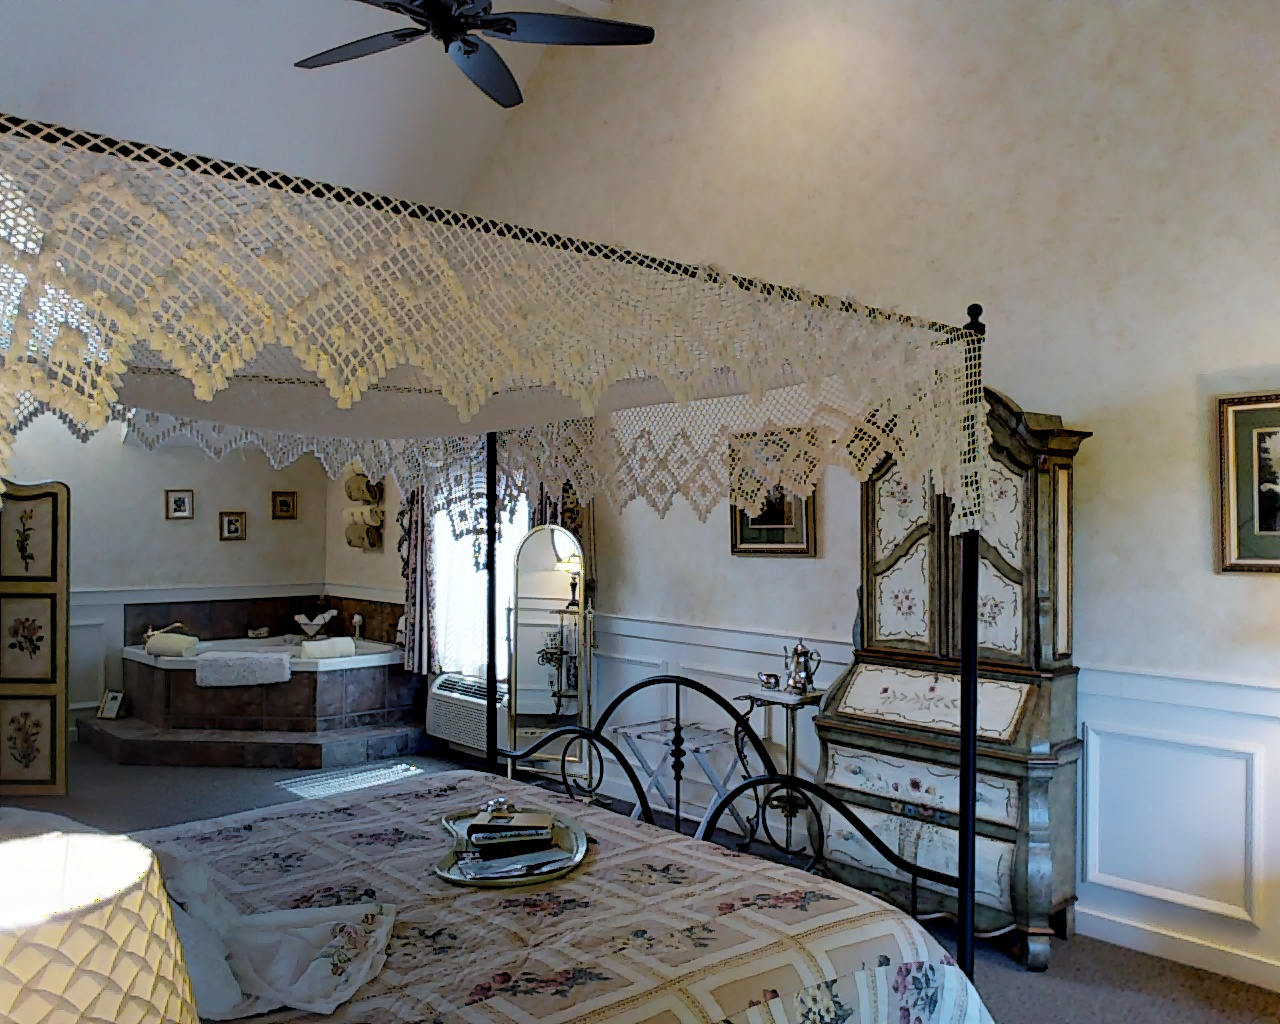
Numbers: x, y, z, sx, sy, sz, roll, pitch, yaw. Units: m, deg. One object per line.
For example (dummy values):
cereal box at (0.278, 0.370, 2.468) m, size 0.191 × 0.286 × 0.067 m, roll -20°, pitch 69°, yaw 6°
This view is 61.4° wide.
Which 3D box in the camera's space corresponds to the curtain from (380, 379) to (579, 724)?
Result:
curtain at (-1.070, 0.210, 6.800) m, size 0.200 × 1.940 × 1.830 m, roll 1°, pitch 0°, yaw -43°

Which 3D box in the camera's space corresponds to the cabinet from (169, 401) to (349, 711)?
cabinet at (-2.749, 0.290, 7.780) m, size 1.130 × 2.100 × 0.540 m, roll 1°, pitch 0°, yaw 25°
